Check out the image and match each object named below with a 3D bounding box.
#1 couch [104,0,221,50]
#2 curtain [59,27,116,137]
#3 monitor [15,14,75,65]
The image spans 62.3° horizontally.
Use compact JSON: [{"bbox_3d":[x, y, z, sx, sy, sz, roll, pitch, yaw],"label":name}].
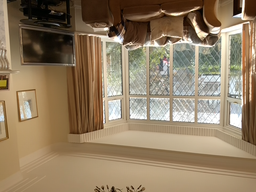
[{"bbox_3d":[0.590,-1.270,3.490,1.660,0.850,0.990,1,-173,19],"label":"couch"},{"bbox_3d":[-0.770,-0.270,4.110,0.870,1.920,0.520,-5,-172,-29],"label":"curtain"},{"bbox_3d":[-1.230,-0.820,3.260,0.040,0.670,0.900,5,-171,41],"label":"monitor"}]
